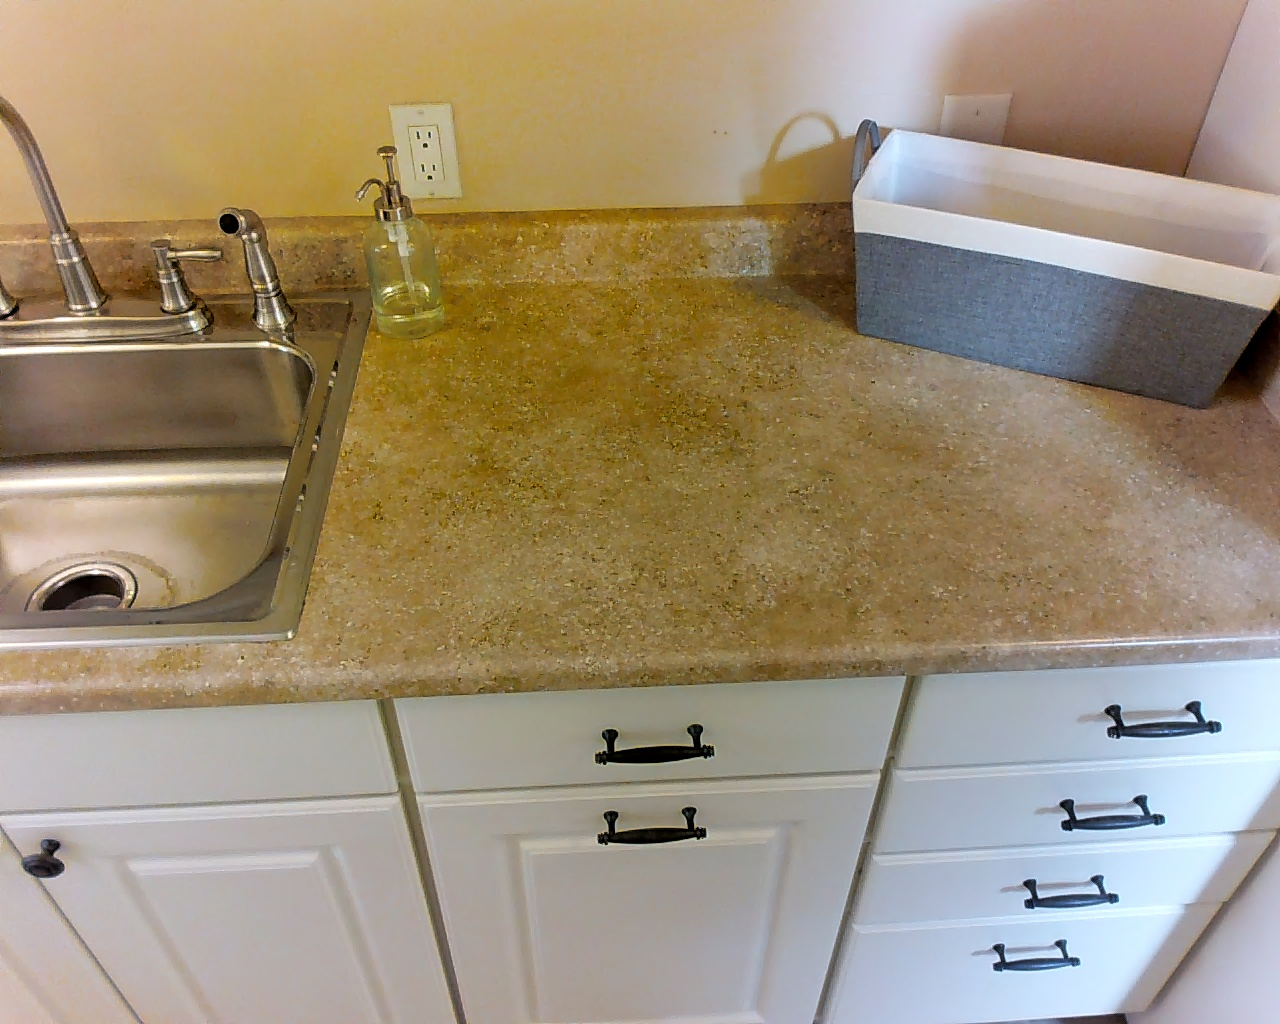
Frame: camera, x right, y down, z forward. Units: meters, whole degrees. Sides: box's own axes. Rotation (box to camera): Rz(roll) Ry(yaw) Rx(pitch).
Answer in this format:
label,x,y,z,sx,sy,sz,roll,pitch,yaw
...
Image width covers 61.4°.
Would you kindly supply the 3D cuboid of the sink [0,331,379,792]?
label,x,y,z,sx,sy,sz,roll,pitch,yaw
sink,-0.610,0.040,1.150,0.570,0.250,0.430,-2,43,-3
